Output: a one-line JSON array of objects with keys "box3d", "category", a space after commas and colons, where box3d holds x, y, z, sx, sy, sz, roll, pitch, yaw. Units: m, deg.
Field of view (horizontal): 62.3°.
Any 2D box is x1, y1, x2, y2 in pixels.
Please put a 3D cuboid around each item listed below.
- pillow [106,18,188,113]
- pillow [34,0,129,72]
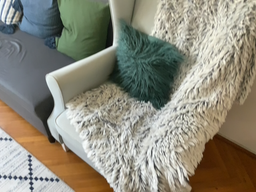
[{"box3d": [0.110, -0.160, 1.160, 0.160, 0.310, 0.430, -40, 63, -6], "category": "pillow"}, {"box3d": [-0.300, -0.450, 1.500, 0.440, 0.450, 0.250, 28, 82, 25], "category": "pillow"}]
